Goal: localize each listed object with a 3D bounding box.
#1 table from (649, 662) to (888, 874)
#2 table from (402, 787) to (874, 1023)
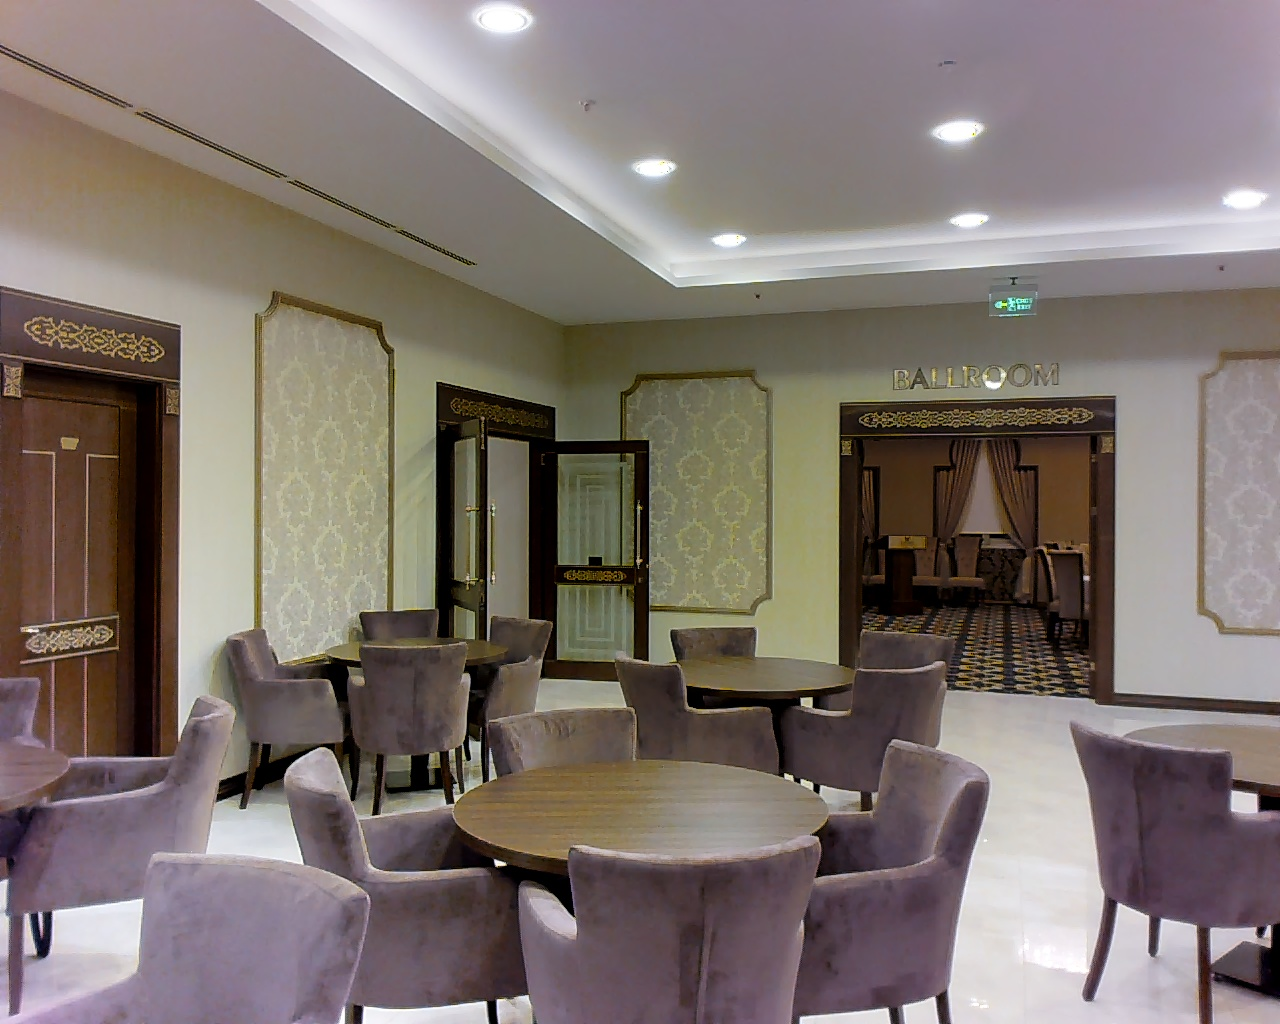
[{"bbox_3d":[0.660,1.181,5.220,0.960,0.730,1.000,0,0,19],"label":"table"},{"bbox_3d":[0.060,1.231,2.890,1.000,0.660,0.980,0,0,19],"label":"table"}]
